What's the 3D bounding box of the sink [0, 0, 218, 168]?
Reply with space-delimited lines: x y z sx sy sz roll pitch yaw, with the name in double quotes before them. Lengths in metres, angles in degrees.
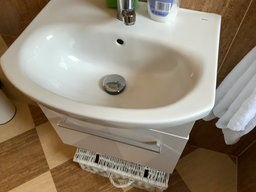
"sink" -0.040 -0.080 0.580 0.490 0.150 0.380 14 56 9
